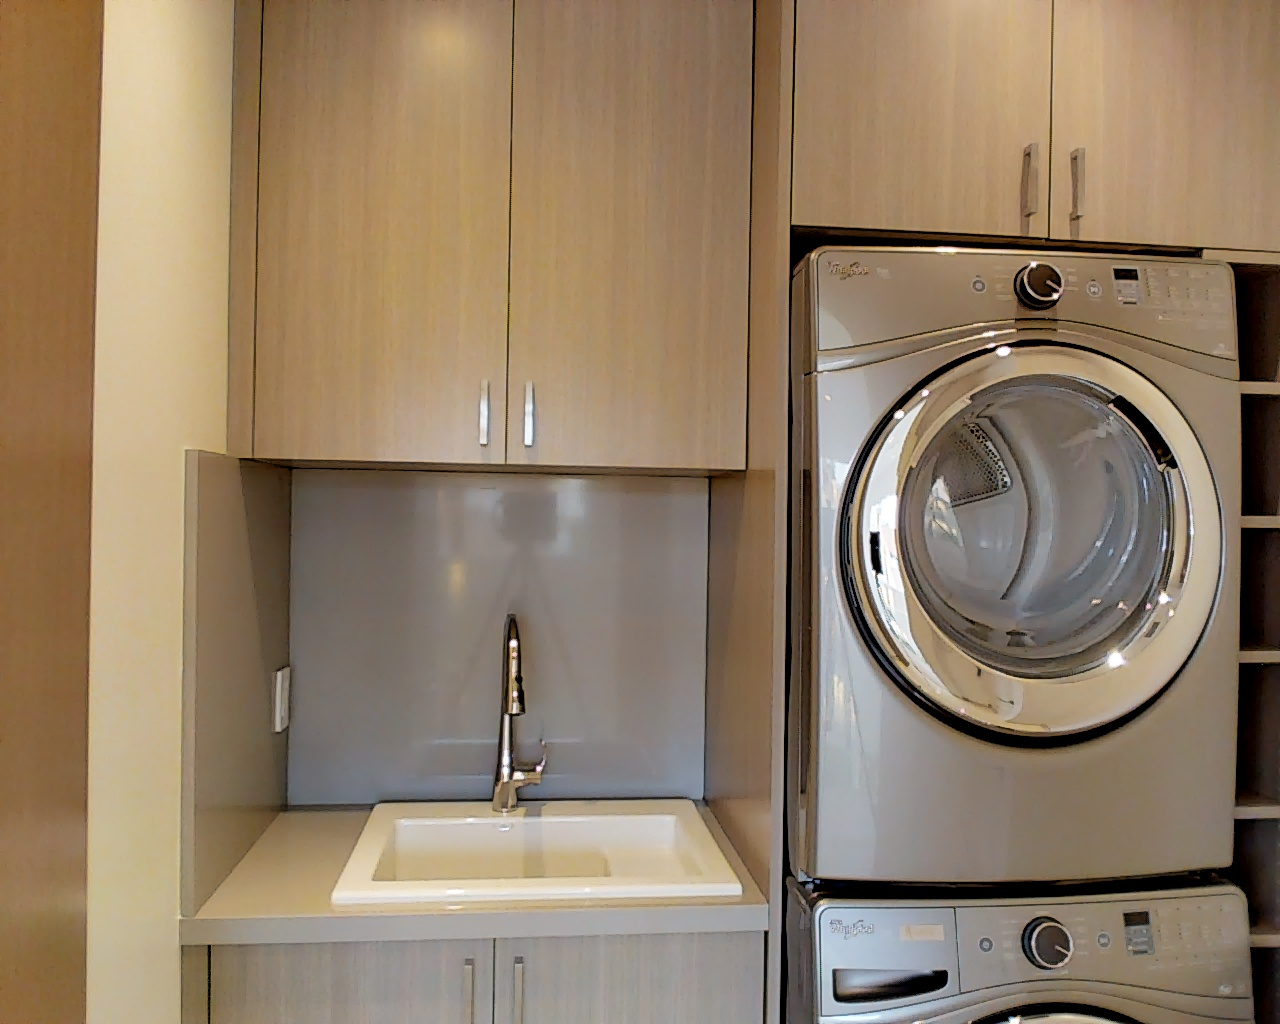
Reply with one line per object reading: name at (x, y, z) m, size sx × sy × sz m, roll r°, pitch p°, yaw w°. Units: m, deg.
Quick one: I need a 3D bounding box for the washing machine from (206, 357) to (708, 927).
washing machine at (-0.320, 0.210, 2.070) m, size 0.770 × 0.880 × 0.730 m, roll 1°, pitch 0°, yaw -6°

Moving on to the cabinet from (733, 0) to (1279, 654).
cabinet at (0.660, -0.400, 1.880) m, size 0.940 × 1.261 × 0.240 m, roll 1°, pitch 0°, yaw -6°

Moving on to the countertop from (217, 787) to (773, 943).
countertop at (-0.250, 0.630, 2.000) m, size 0.860 × 0.070 × 0.640 m, roll 1°, pitch 0°, yaw -6°
